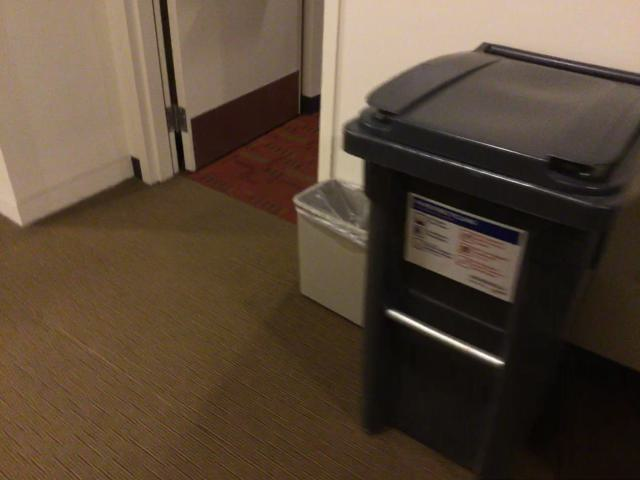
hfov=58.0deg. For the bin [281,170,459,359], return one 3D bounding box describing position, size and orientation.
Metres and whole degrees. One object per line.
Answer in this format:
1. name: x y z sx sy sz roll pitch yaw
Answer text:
1. bin: 0.140 0.060 1.790 0.450 0.370 0.260 24 41 30
